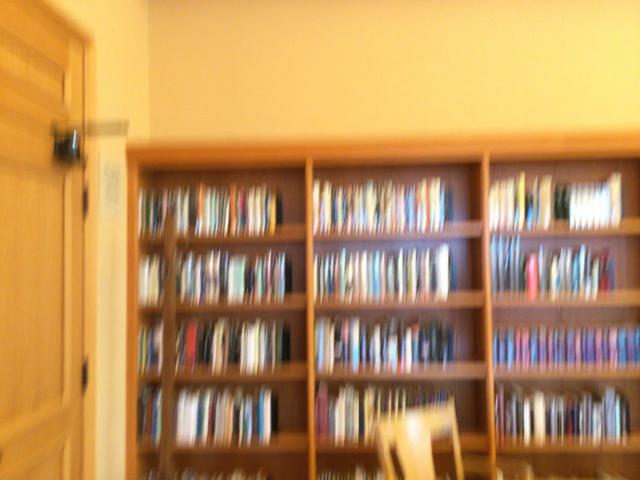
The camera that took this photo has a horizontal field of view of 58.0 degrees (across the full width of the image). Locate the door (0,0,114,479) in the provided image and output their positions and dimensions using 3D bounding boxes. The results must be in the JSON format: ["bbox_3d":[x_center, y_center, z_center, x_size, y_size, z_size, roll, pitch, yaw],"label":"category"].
[{"bbox_3d":[-1.140,0.260,2.200,0.210,2.690,1.030,-5,-6,3],"label":"door"}]
